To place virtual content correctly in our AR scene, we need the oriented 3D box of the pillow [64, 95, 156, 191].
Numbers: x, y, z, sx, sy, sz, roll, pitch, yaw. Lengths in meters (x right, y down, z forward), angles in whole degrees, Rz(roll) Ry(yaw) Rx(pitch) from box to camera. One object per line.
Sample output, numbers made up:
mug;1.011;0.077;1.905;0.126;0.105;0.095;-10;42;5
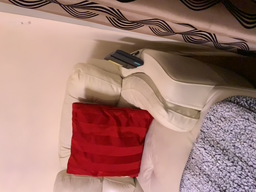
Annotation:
pillow;-0.120;0.300;1.260;0.160;0.460;0.560;-89;6;-60
